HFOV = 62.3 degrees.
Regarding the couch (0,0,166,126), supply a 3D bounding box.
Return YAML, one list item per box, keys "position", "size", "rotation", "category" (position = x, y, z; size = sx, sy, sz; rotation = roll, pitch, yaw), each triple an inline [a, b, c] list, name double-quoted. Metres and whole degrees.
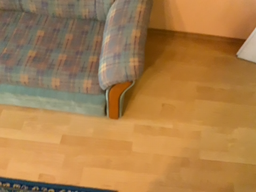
- position: [-0.690, -0.550, 1.260]
  size: [1.690, 0.870, 0.940]
  rotation: [9, 60, 0]
  category: "couch"
